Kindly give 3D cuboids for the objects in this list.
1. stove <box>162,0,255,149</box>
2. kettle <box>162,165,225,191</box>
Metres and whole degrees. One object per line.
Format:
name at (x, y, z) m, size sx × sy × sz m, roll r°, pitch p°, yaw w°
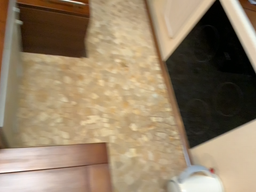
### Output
stove at (0.390, -0.090, 1.100) m, size 0.530 × 0.040 × 0.590 m, roll 127°, pitch 139°, yaw -54°
kettle at (0.300, 0.420, 0.980) m, size 0.150 × 0.210 × 0.140 m, roll 125°, pitch 140°, yaw -52°
